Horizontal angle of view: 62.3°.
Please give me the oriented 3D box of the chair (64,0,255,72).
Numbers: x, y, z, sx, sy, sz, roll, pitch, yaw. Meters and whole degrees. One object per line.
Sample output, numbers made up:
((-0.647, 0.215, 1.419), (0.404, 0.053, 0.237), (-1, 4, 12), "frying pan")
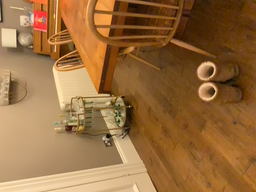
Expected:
((0.150, -0.500, 1.270), (0.550, 0.920, 0.500), (-125, 41, -49), "chair")
